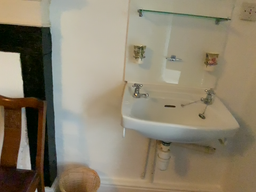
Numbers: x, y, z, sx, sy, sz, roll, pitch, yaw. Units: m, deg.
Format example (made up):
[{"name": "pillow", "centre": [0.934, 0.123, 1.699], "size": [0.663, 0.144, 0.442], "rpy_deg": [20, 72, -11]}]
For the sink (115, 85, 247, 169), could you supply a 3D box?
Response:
[{"name": "sink", "centre": [0.240, 0.140, 1.170], "size": [0.570, 0.240, 0.400], "rpy_deg": [6, 20, 1]}]

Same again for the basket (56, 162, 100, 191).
[{"name": "basket", "centre": [-0.330, 0.630, 1.440], "size": [0.240, 0.250, 0.220], "rpy_deg": [5, 20, -2]}]
